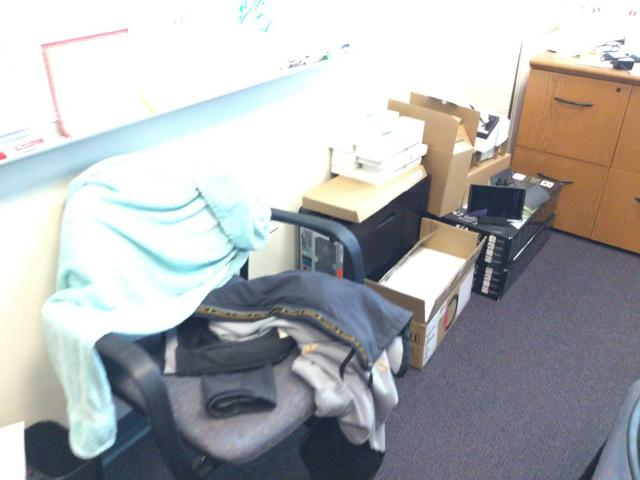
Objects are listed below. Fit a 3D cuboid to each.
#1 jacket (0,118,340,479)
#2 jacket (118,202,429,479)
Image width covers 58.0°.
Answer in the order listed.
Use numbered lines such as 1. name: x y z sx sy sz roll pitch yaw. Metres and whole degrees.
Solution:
1. jacket: -0.310 0.090 1.210 0.390 0.480 0.640 17 35 33
2. jacket: -0.070 0.330 1.340 0.450 0.630 0.460 17 35 33
